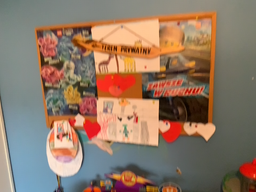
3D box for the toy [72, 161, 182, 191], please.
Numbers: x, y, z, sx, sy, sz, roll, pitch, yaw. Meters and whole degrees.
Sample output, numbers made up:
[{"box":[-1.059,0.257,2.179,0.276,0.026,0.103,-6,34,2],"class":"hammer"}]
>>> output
[{"box":[0.000,0.460,0.990,0.480,0.230,0.140,1,12,12],"class":"toy"}]
